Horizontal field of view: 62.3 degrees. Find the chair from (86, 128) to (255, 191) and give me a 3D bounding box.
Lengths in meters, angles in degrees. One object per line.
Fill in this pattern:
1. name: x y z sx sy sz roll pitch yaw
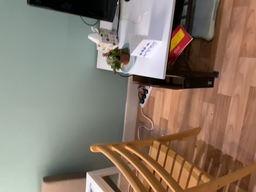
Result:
1. chair: 0.240 0.520 1.170 0.470 0.800 0.490 22 108 54
